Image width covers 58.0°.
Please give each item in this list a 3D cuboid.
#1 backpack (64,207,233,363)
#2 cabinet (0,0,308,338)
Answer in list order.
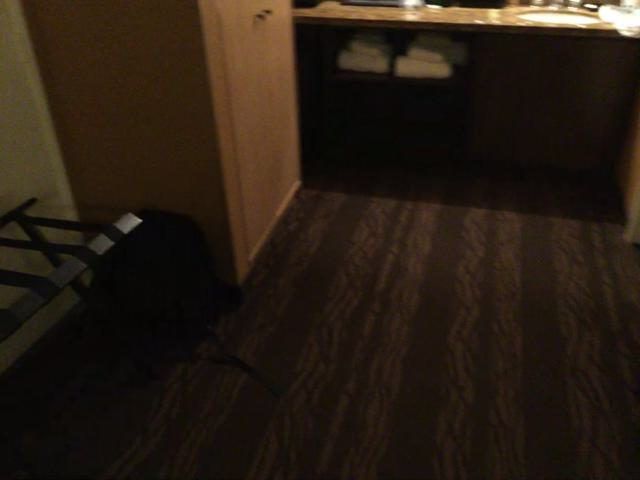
[{"bbox_3d":[-0.590,0.150,2.070,0.430,0.430,0.290,5,27,14],"label":"backpack"},{"bbox_3d":[-0.560,-0.810,2.250,0.660,1.990,1.140,5,27,14],"label":"cabinet"}]
